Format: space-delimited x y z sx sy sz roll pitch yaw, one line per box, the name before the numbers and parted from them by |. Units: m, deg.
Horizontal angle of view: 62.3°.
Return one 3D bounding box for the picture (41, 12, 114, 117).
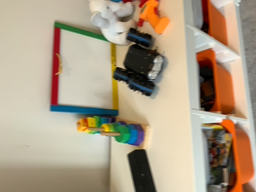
picture | -0.200 -0.120 0.930 0.060 0.300 0.390 -14 70 45
